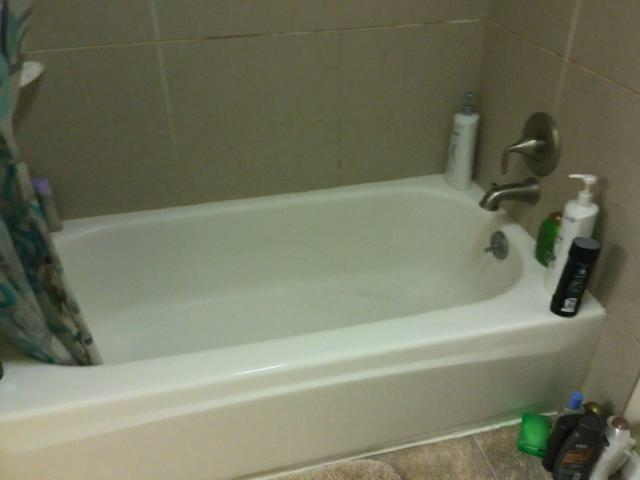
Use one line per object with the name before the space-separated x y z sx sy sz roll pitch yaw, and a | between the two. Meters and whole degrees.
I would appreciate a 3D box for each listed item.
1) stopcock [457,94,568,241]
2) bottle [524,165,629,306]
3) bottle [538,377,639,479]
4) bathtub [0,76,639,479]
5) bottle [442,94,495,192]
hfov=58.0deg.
stopcock | 0.520 -0.200 1.600 0.170 0.350 0.170 -7 33 -12
bottle | 0.610 -0.010 1.400 0.100 0.300 0.150 -7 33 -12
bottle | 0.660 0.480 1.400 0.140 0.210 0.170 -7 33 -12
bathtub | -0.100 0.080 1.550 1.440 0.750 0.760 -6 33 -12
bottle | 0.470 -0.310 1.850 0.080 0.280 0.120 -6 33 -12
